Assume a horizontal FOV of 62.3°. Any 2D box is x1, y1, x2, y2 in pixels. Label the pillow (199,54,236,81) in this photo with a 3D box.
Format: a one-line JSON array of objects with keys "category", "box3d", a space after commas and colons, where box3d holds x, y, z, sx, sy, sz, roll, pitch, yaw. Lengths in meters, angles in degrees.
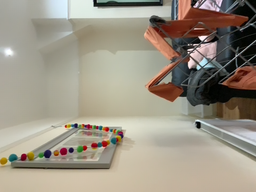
[{"category": "pillow", "box3d": [0.990, -0.330, 2.370, 0.380, 0.210, 0.210, -106, 0, -76]}]
